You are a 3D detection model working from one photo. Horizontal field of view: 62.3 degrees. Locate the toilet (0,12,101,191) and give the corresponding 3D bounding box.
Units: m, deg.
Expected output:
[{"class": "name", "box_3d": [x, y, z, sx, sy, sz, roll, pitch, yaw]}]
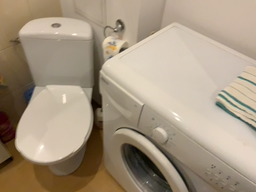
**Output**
[{"class": "toilet", "box_3d": [-0.370, 0.050, 1.180, 0.380, 0.730, 0.670, 0, 49, -4]}]
